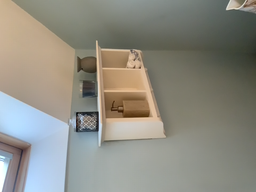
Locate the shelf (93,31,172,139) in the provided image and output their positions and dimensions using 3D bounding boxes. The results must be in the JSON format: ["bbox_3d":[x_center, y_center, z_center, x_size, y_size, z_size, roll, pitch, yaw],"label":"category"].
[{"bbox_3d":[-0.020,-0.090,1.110,0.190,0.310,0.590,100,165,-48],"label":"shelf"}]
